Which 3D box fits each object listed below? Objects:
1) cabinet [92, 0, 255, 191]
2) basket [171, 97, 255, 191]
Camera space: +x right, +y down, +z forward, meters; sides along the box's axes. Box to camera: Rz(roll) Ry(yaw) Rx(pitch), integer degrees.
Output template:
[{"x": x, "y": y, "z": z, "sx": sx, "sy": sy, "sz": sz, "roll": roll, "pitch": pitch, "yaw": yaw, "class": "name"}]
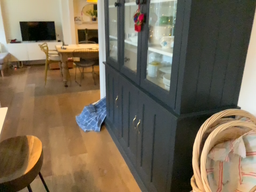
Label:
[{"x": 0.110, "y": -0.600, "z": 2.000, "sx": 0.440, "sy": 2.470, "sz": 2.110, "roll": -6, "pitch": 22, "yaw": -20, "class": "cabinet"}, {"x": 0.540, "y": 0.560, "z": 1.110, "sx": 0.390, "sy": 0.960, "sz": 0.510, "roll": -7, "pitch": 22, "yaw": -21, "class": "basket"}]
